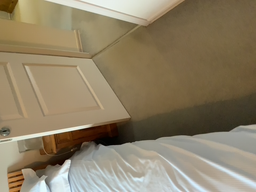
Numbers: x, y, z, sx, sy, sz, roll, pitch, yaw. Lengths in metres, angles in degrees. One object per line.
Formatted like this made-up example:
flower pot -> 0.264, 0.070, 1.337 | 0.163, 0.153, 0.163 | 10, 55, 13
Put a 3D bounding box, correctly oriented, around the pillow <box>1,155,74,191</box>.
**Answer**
pillow -> -0.620, 0.870, 1.510 | 0.490, 0.320, 0.790 | -20, 78, 45
